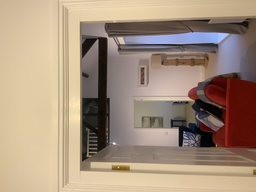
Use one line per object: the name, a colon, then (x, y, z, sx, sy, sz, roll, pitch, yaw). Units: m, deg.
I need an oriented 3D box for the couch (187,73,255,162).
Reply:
couch: (1.440, 0.260, 3.220, 1.340, 0.790, 1.070, 7, -96, -85)
